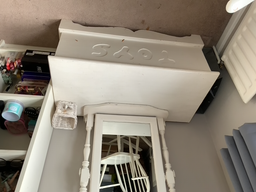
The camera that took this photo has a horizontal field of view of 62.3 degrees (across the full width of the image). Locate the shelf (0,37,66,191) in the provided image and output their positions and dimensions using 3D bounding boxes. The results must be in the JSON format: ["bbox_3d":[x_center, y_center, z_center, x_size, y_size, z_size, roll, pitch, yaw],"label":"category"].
[{"bbox_3d":[-0.640,0.120,1.150,0.440,1.050,0.270,4,139,-9],"label":"shelf"}]

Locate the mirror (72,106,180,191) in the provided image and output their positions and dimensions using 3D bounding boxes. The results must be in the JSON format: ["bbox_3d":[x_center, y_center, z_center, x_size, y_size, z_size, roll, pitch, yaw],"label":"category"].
[{"bbox_3d":[-0.020,0.340,1.210,0.530,0.570,0.120,5,139,-10],"label":"mirror"}]
